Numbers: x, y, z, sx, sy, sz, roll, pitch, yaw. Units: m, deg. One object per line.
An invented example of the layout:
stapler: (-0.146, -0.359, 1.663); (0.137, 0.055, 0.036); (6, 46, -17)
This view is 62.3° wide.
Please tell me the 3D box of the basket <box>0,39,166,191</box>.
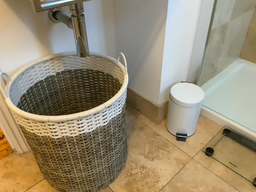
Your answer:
basket: (-0.210, 0.120, 0.940); (0.500, 0.480, 0.500); (-31, 47, -32)

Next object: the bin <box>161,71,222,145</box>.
bin: (0.330, 0.060, 1.140); (0.190, 0.290, 0.200); (-31, 47, -32)
